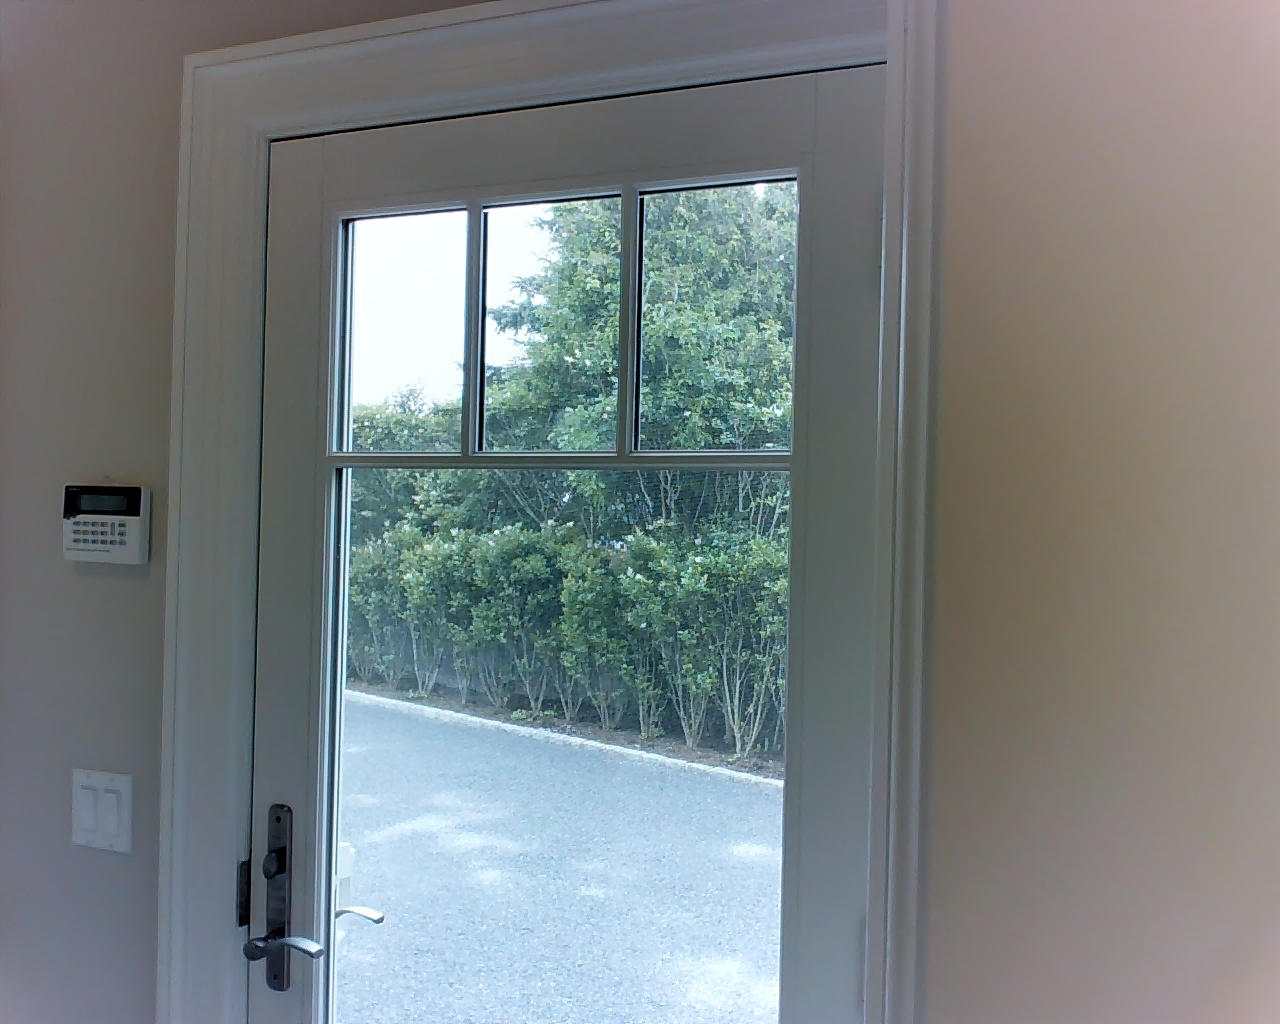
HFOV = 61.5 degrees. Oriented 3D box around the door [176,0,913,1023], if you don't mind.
[{"bbox_3d":[-0.170,0.490,1.420,0.980,2.220,0.140,1,0,21],"label":"door"}]
